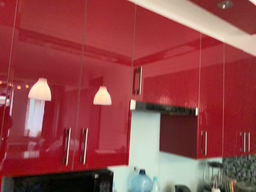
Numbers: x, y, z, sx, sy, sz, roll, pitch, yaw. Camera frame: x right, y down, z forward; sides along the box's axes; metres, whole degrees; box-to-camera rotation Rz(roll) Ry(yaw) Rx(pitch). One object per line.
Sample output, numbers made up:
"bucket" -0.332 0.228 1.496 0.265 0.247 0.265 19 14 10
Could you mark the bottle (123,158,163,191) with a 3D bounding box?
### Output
"bottle" 0.110 0.710 1.600 0.260 0.420 0.150 7 -7 -36
